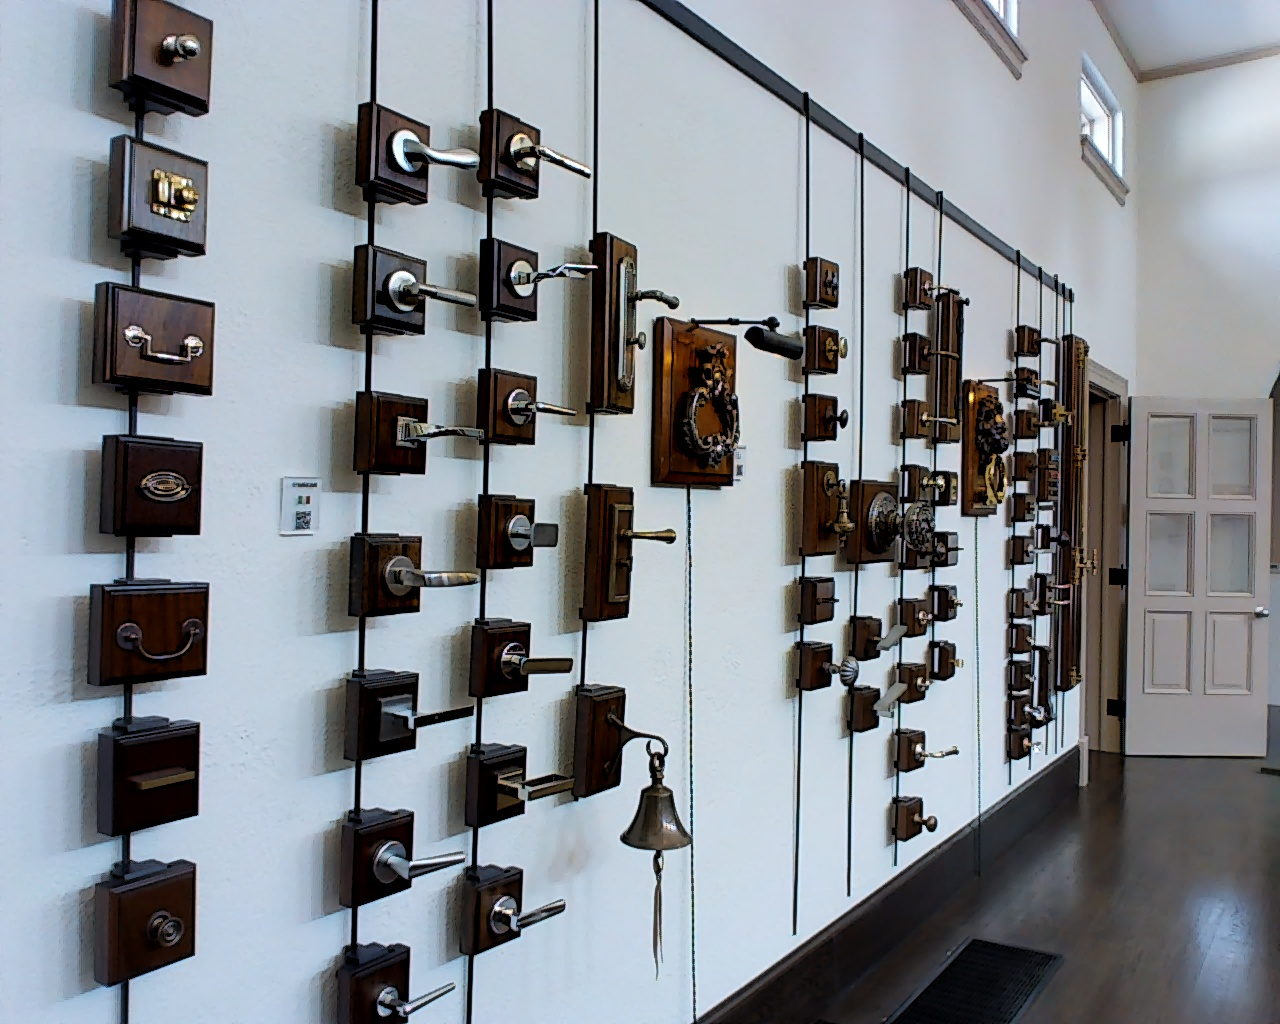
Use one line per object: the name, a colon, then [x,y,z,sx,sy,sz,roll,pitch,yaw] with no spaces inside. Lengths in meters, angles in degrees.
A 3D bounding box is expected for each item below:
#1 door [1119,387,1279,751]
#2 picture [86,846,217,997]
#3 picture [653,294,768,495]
door: [3.590,0.360,6.870,0.960,2.300,0.140,1,0,1]
picture: [-0.650,0.540,1.430,0.090,0.140,0.130,1,0,35]
picture: [0.180,-0.270,2.630,0.080,0.450,0.400,1,0,35]
